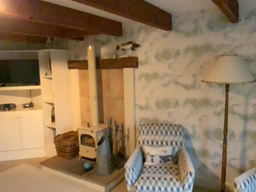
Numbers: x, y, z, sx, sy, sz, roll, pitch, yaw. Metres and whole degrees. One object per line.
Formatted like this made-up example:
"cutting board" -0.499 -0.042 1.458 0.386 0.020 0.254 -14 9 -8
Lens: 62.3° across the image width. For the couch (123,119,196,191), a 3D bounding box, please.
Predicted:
"couch" 0.400 0.820 2.660 0.720 0.830 0.970 0 9 10
